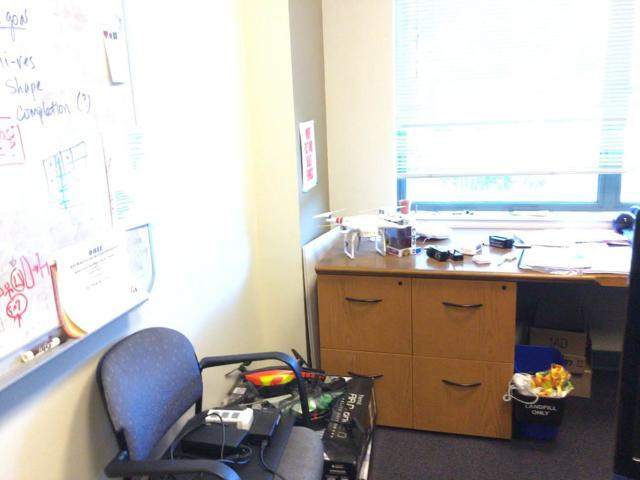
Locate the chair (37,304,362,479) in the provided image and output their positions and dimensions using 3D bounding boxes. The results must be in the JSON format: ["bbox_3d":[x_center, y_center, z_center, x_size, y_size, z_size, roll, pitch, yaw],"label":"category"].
[{"bbox_3d":[-0.240,0.620,1.550,0.600,0.720,0.580,0,14,14],"label":"chair"}]

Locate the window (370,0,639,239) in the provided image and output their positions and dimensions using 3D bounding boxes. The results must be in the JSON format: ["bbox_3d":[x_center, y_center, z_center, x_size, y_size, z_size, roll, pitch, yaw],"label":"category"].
[{"bbox_3d":[1.420,-0.690,2.500,2.360,1.360,0.230,0,14,14],"label":"window"}]
